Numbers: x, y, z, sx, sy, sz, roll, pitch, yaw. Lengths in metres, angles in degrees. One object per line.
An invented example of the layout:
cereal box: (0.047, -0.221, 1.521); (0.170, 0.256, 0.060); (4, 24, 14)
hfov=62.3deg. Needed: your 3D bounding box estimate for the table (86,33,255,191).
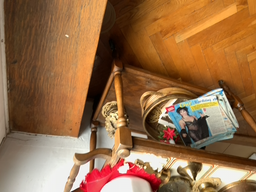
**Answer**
table: (0.180, 0.100, 1.000); (0.660, 0.690, 0.350); (14, 124, -19)
